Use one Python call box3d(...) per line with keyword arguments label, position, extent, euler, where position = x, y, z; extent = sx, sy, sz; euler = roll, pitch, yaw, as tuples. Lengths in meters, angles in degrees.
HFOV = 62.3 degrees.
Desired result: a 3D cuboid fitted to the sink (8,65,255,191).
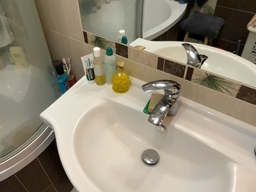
box3d(label="sink", position=(0.070, 0.220, 0.790), extent=(0.870, 0.170, 0.500), euler=(25, 49, 24))
